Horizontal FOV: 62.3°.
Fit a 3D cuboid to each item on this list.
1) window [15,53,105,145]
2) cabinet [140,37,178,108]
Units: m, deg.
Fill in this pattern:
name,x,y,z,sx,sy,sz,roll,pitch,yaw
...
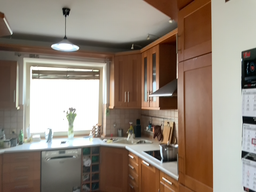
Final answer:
name,x,y,z,sx,sy,sz,roll,pitch,yaw
window,-1.240,0.060,4.050,1.570,1.580,0.260,1,-1,-22
cabinet,0.480,-0.340,3.420,0.340,1.030,0.610,1,-1,-21
